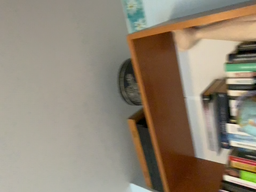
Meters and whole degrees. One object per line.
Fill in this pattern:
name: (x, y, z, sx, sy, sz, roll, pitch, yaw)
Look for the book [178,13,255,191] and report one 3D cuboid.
book: (0.390, 0.070, 0.650, 0.230, 0.280, 0.590, -35, -63, -41)
